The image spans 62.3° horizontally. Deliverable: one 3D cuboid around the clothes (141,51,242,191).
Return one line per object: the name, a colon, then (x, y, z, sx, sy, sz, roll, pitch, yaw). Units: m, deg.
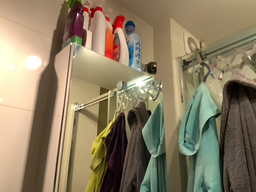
clothes: (0.250, 0.510, 0.790, 0.290, 1.310, 0.280, 20, -27, -41)
